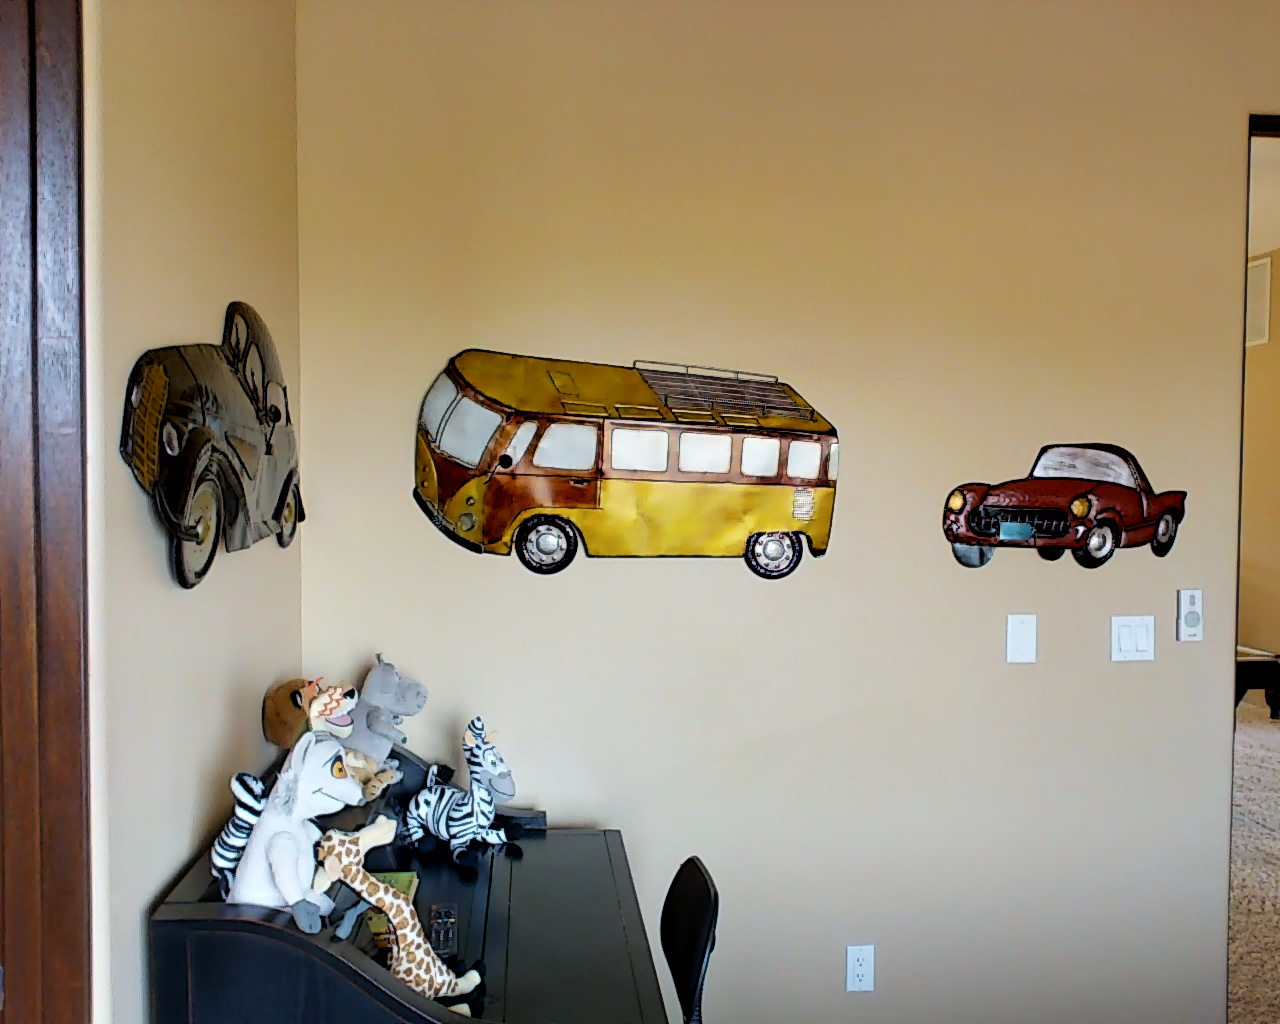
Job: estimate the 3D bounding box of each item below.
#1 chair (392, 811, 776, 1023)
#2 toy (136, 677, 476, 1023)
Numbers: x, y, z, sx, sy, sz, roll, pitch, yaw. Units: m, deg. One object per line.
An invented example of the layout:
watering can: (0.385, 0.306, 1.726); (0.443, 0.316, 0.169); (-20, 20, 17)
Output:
chair: (-0.110, 1.030, 1.900); (0.580, 0.820, 0.560); (0, 1, -6)
toy: (-0.460, 0.510, 1.550); (0.420, 0.490, 0.280); (0, 1, -5)
